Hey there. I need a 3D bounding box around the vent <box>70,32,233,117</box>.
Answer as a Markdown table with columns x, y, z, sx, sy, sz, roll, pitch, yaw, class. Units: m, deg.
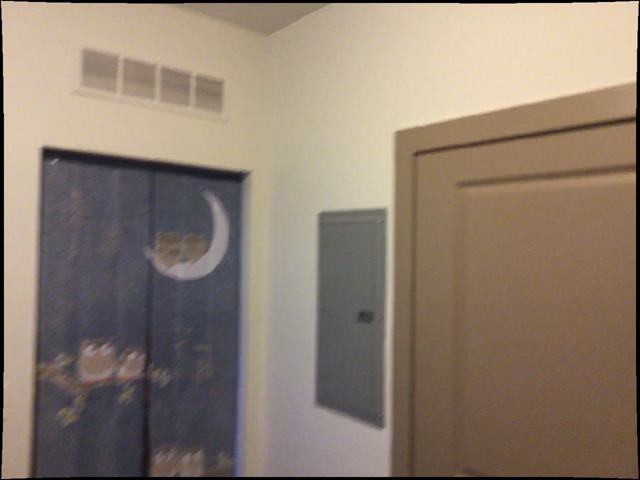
| x | y | z | sx | sy | sz | roll | pitch | yaw | class |
| --- | --- | --- | --- | --- | --- | --- | --- | --- | --- |
| -0.638 | -0.632 | 2.260 | 0.619 | 0.210 | 0.090 | -1 | 4 | -38 | vent |
